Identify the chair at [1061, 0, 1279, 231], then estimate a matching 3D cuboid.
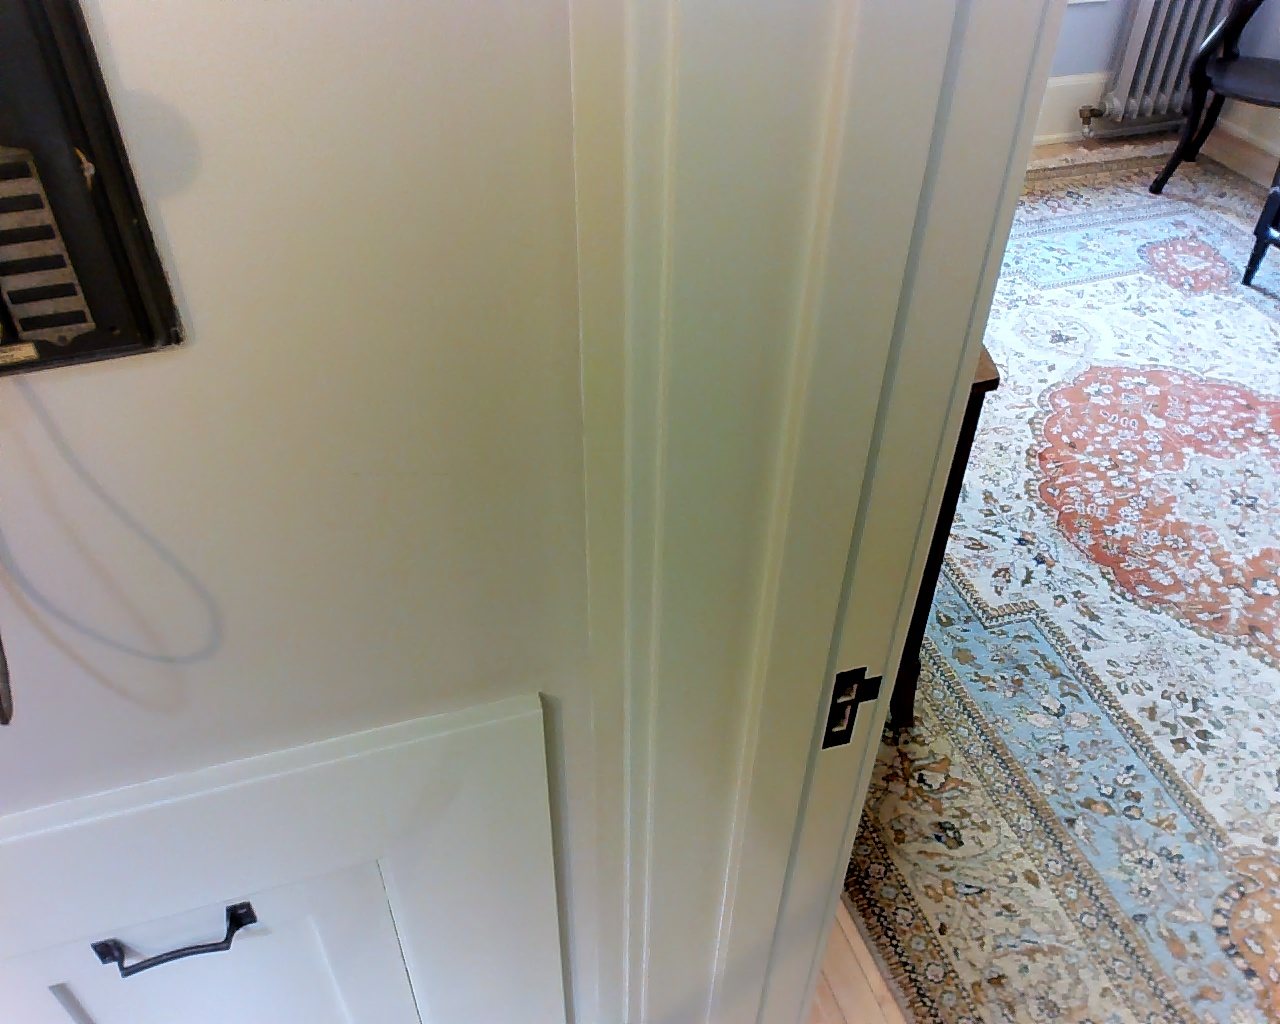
[{"bbox_3d":[2.040,-1.550,3.470,0.710,0.860,0.860,-13,44,-16],"label":"chair"}]
